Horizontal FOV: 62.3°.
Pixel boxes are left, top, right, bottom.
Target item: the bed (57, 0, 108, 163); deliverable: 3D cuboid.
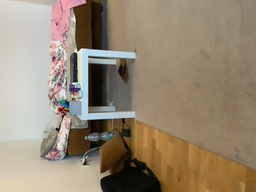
[{"bbox_3d":[-0.680,-0.290,2.900,1.210,0.430,1.980,-171,81,-66],"label":"bed"}]
